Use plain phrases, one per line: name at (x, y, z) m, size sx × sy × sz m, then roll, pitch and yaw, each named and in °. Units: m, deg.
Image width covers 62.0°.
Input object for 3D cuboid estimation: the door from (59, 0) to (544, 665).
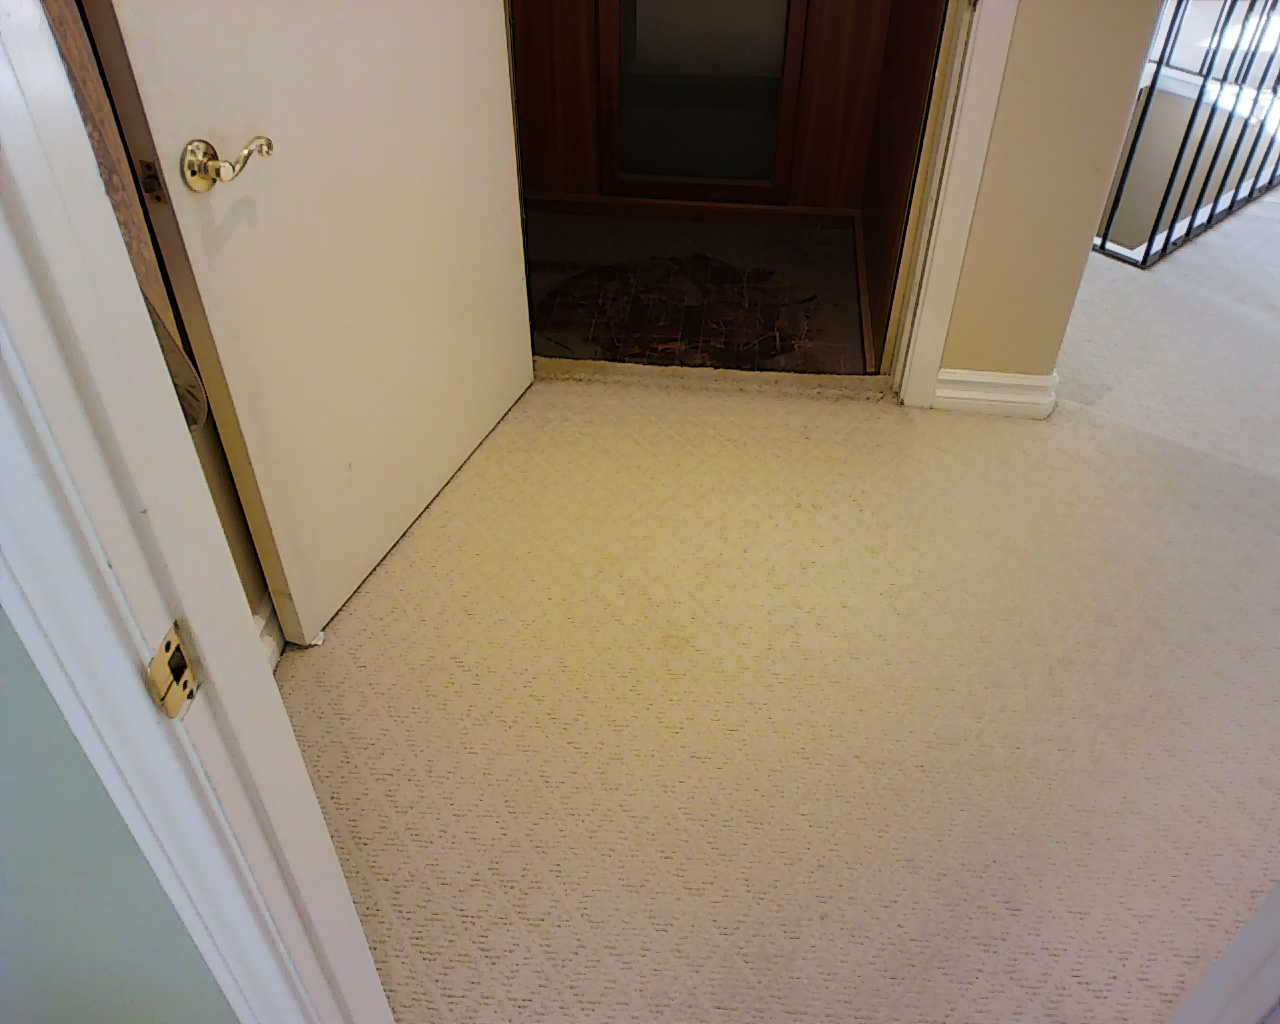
door at (-0.430, -0.780, 1.540) m, size 0.080 × 2.010 × 0.930 m, roll 15°, pitch 43°, yaw 16°
